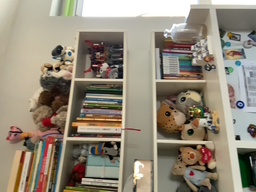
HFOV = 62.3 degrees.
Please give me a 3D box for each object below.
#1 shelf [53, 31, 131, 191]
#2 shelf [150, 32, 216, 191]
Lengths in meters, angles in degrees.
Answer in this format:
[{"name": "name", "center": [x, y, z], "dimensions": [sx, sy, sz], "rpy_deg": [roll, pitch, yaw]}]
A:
[{"name": "shelf", "center": [-0.160, 0.100, 1.180], "dimensions": [0.200, 0.310, 0.970], "rpy_deg": [86, -174, -68]}, {"name": "shelf", "center": [0.270, 0.110, 1.170], "dimensions": [0.190, 0.280, 0.980], "rpy_deg": [86, -174, -68]}]
